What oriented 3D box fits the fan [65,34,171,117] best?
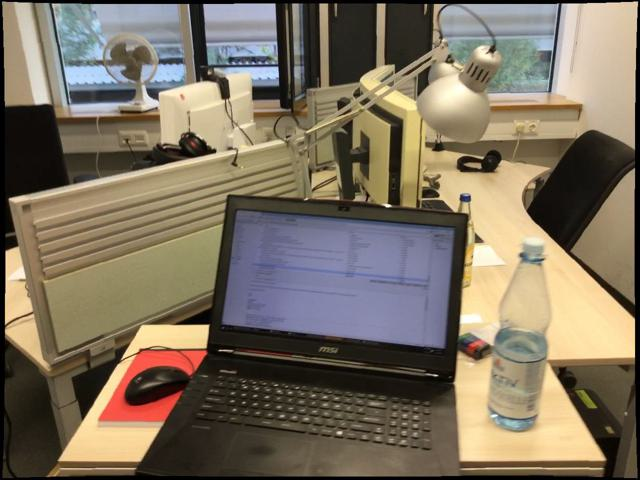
[{"bbox_3d":[-1.099,-0.921,3.210,0.430,0.390,0.330,-3,23,-3],"label":"fan"}]

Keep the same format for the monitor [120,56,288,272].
[{"bbox_3d":[-0.330,-0.280,1.880,0.240,0.550,0.580,5,24,16],"label":"monitor"}]

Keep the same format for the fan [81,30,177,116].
[{"bbox_3d":[-1.029,-0.921,3.170,0.390,0.410,0.260,-3,23,-3],"label":"fan"}]

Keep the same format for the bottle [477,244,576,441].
[{"bbox_3d":[0.310,0.160,0.890,0.090,0.290,0.090,-3,23,-3],"label":"bottle"}]

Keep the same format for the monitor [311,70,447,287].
[{"bbox_3d":[0.150,-0.220,1.760,0.280,0.500,0.560,-4,23,-5],"label":"monitor"}]
